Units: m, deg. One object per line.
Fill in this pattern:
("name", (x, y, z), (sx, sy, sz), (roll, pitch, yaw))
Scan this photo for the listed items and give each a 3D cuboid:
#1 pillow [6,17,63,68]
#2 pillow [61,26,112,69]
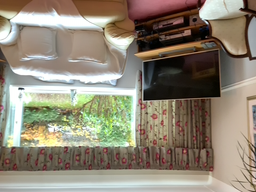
("pillow", (-1.110, -0.640, 2.560), (0.470, 0.420, 0.150), (-30, 177, -12))
("pillow", (-0.500, -0.590, 2.600), (0.510, 0.350, 0.130), (-20, 176, -8))
